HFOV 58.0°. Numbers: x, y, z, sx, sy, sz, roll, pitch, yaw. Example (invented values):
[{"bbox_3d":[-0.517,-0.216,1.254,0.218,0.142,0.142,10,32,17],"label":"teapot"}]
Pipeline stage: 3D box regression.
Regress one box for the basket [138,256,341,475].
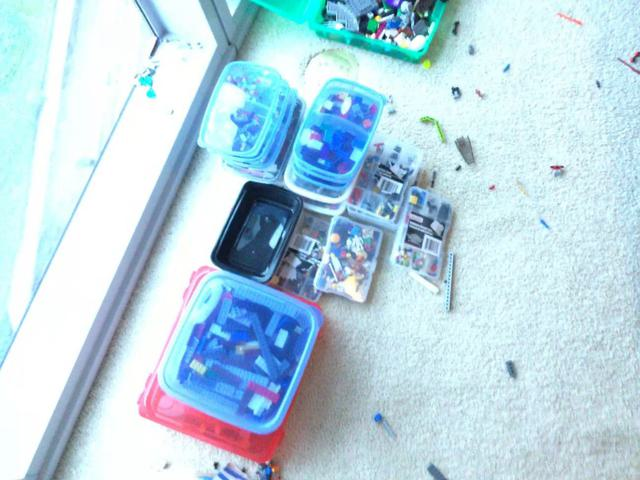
[{"bbox_3d":[-0.140,0.230,1.090,0.240,0.310,0.130,23,-13,13],"label":"basket"}]
